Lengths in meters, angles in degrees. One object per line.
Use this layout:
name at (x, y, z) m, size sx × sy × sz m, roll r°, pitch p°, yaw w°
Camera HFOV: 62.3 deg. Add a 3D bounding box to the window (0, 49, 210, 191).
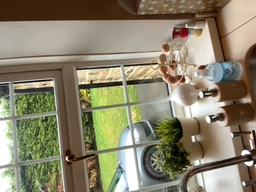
window at (-0.230, 0.330, 1.030) m, size 0.180 × 1.230 × 1.060 m, roll 143°, pitch 120°, yaw -73°
